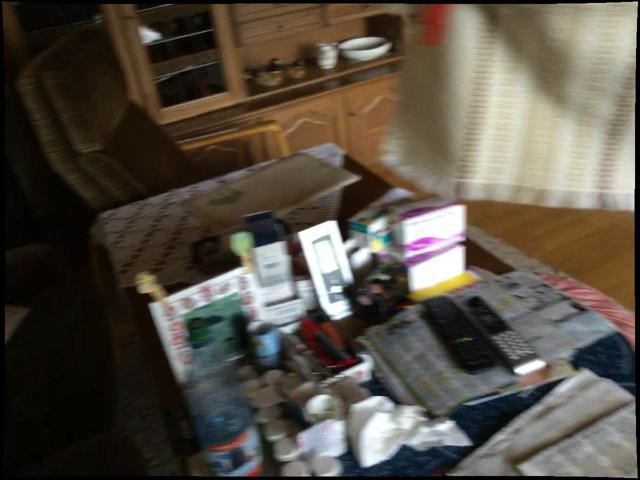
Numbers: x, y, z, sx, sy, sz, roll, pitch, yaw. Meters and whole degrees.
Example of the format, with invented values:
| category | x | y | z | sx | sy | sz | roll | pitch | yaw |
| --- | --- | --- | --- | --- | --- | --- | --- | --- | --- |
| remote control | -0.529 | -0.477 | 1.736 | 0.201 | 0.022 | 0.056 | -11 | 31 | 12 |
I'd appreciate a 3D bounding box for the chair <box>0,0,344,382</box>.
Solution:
| category | x | y | z | sx | sy | sz | roll | pitch | yaw |
| --- | --- | --- | --- | --- | --- | --- | --- | --- | --- |
| chair | -0.420 | -0.220 | 2.030 | 0.879 | 1.001 | 0.870 | -6 | 33 | 2 |
